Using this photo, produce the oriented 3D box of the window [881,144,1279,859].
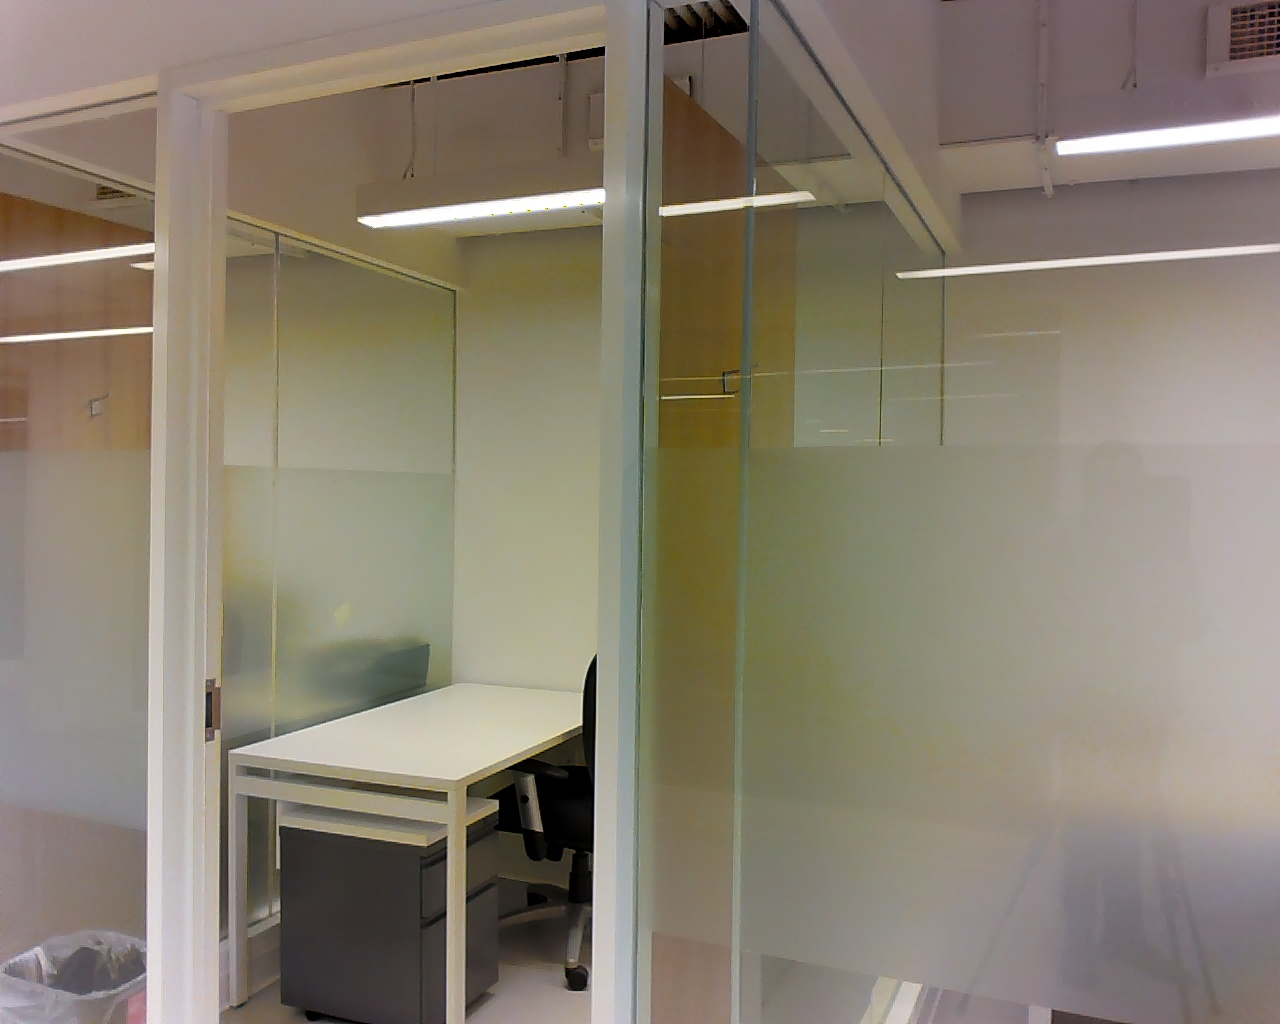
[{"bbox_3d":[1.690,-0.030,3.110,1.920,2.000,0.130,1,0,23],"label":"window"}]
